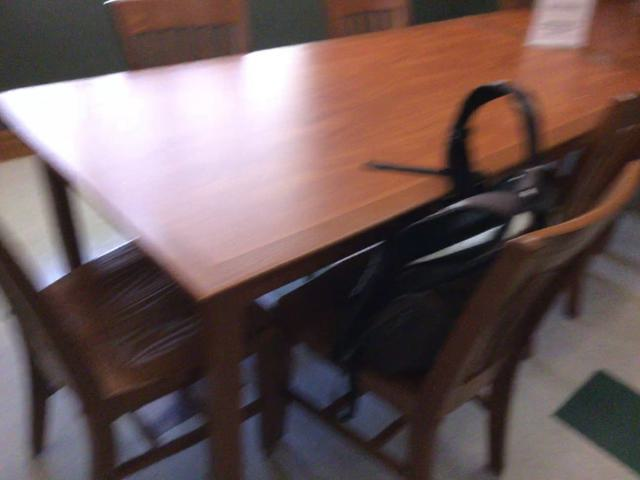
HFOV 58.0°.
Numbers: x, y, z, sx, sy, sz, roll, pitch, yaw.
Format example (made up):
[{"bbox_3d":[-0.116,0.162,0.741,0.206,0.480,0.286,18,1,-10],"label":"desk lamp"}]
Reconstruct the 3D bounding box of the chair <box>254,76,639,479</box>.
[{"bbox_3d":[0.230,0.200,1.230,0.490,0.870,0.570,-25,43,-36],"label":"chair"}]

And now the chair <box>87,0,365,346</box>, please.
[{"bbox_3d":[-0.300,-0.260,1.840,0.540,0.880,0.580,-20,41,-32],"label":"chair"}]
